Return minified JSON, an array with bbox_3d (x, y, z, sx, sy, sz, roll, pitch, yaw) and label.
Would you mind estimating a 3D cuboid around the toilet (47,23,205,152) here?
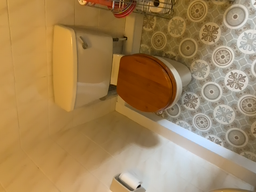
[{"bbox_3d":[0.000,-0.160,1.430,0.640,0.790,0.530,24,118,33],"label":"toilet"}]
